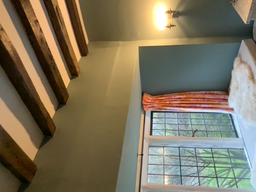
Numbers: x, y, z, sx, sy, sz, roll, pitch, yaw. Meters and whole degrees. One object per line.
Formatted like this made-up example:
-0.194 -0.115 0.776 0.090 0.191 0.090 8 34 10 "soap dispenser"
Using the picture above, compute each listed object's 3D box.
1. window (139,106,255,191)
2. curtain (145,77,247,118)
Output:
0.830 0.770 2.710 1.640 1.300 0.140 -80 -13 -46 "window"
0.890 0.020 3.000 0.340 1.270 0.450 -79 -14 -51 "curtain"
